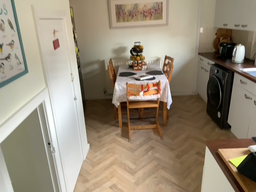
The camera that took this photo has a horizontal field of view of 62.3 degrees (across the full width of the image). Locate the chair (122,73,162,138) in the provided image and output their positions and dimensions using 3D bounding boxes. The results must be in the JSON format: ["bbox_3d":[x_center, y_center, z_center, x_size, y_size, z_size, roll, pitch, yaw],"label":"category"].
[{"bbox_3d":[0.190,0.120,3.040,0.500,0.780,0.530,-2,20,0],"label":"chair"}]
